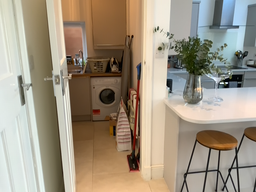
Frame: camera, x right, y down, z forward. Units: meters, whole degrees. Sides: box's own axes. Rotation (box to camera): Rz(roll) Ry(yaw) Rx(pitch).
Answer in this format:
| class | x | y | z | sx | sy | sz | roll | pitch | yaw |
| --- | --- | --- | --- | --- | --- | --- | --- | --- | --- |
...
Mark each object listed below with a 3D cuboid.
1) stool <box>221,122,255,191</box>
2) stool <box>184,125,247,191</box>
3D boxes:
| class | x | y | z | sx | sy | sz | roll | pitch | yaw |
| --- | --- | --- | --- | --- | --- | --- | --- | --- | --- |
| stool | 1.160 | 0.640 | 1.980 | 0.340 | 0.710 | 0.310 | -2 | 16 | -9 |
| stool | 0.760 | 0.660 | 1.920 | 0.340 | 0.710 | 0.310 | -2 | 16 | -9 |
